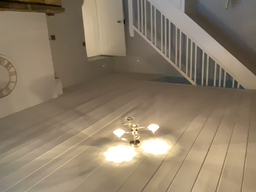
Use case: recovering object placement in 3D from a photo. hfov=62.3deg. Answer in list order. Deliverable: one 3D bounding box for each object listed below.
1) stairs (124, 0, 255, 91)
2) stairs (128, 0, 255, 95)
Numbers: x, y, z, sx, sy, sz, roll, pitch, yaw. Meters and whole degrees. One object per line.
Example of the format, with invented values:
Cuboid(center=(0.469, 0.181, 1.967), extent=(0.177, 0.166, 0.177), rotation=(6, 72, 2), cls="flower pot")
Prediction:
Cuboid(center=(1.300, -1.440, 4.060), extent=(2.680, 2.370, 0.750), rotation=(7, -161, 28), cls="stairs")
Cuboid(center=(1.130, -1.310, 3.760), extent=(2.420, 2.420, 0.160), rotation=(7, -161, 27), cls="stairs")
